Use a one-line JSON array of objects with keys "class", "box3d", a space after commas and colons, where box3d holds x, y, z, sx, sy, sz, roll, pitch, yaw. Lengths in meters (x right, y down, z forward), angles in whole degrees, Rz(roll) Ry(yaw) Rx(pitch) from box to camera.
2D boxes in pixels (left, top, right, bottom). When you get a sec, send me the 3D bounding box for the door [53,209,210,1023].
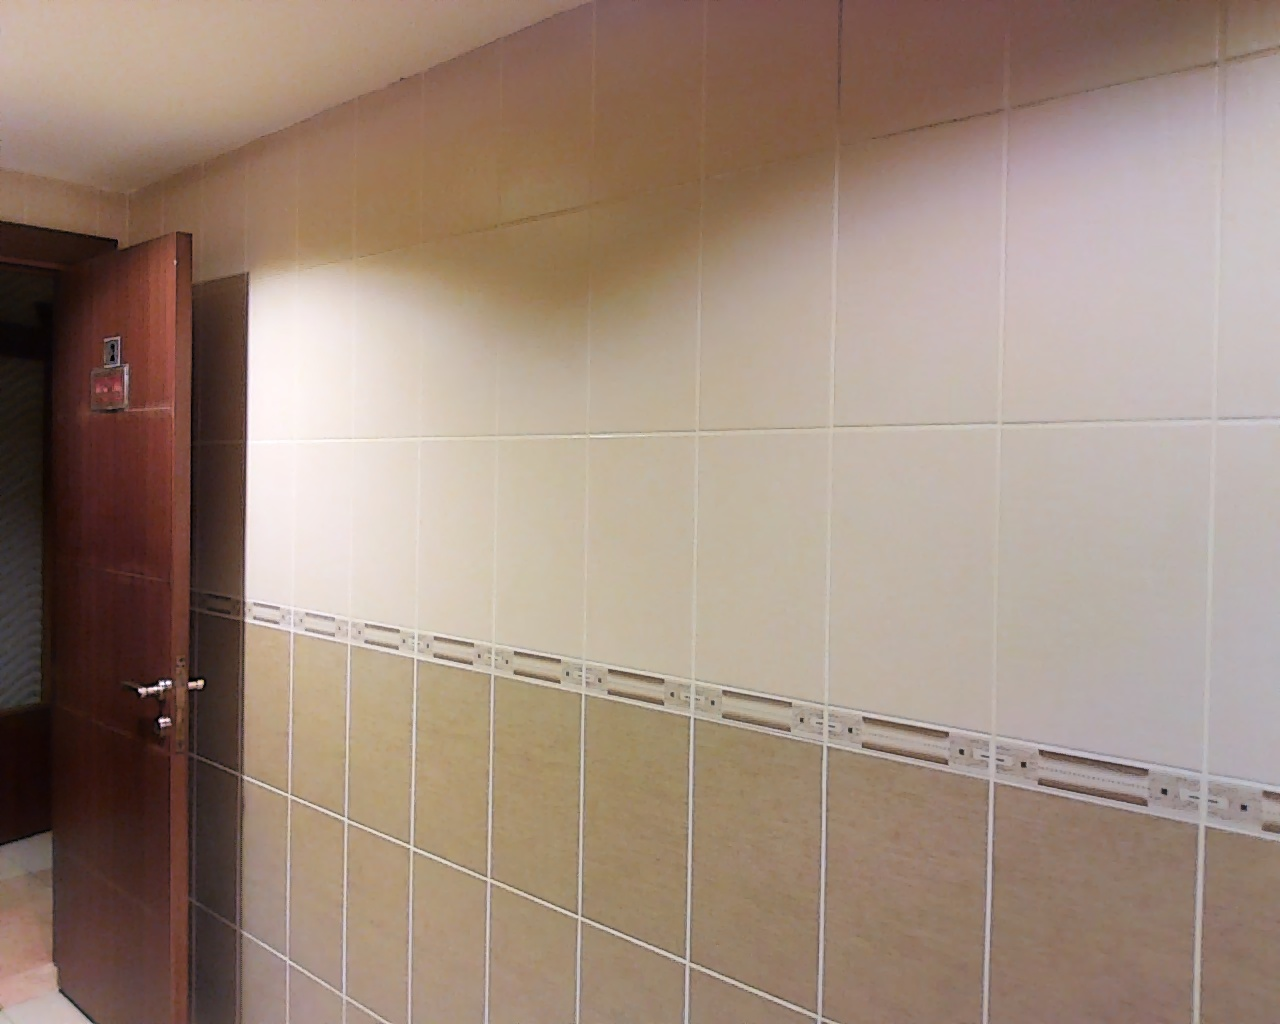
[{"class": "door", "box3d": [-1.390, 0.380, 2.900, 0.840, 2.230, 0.050, 2, 1, 42]}]
